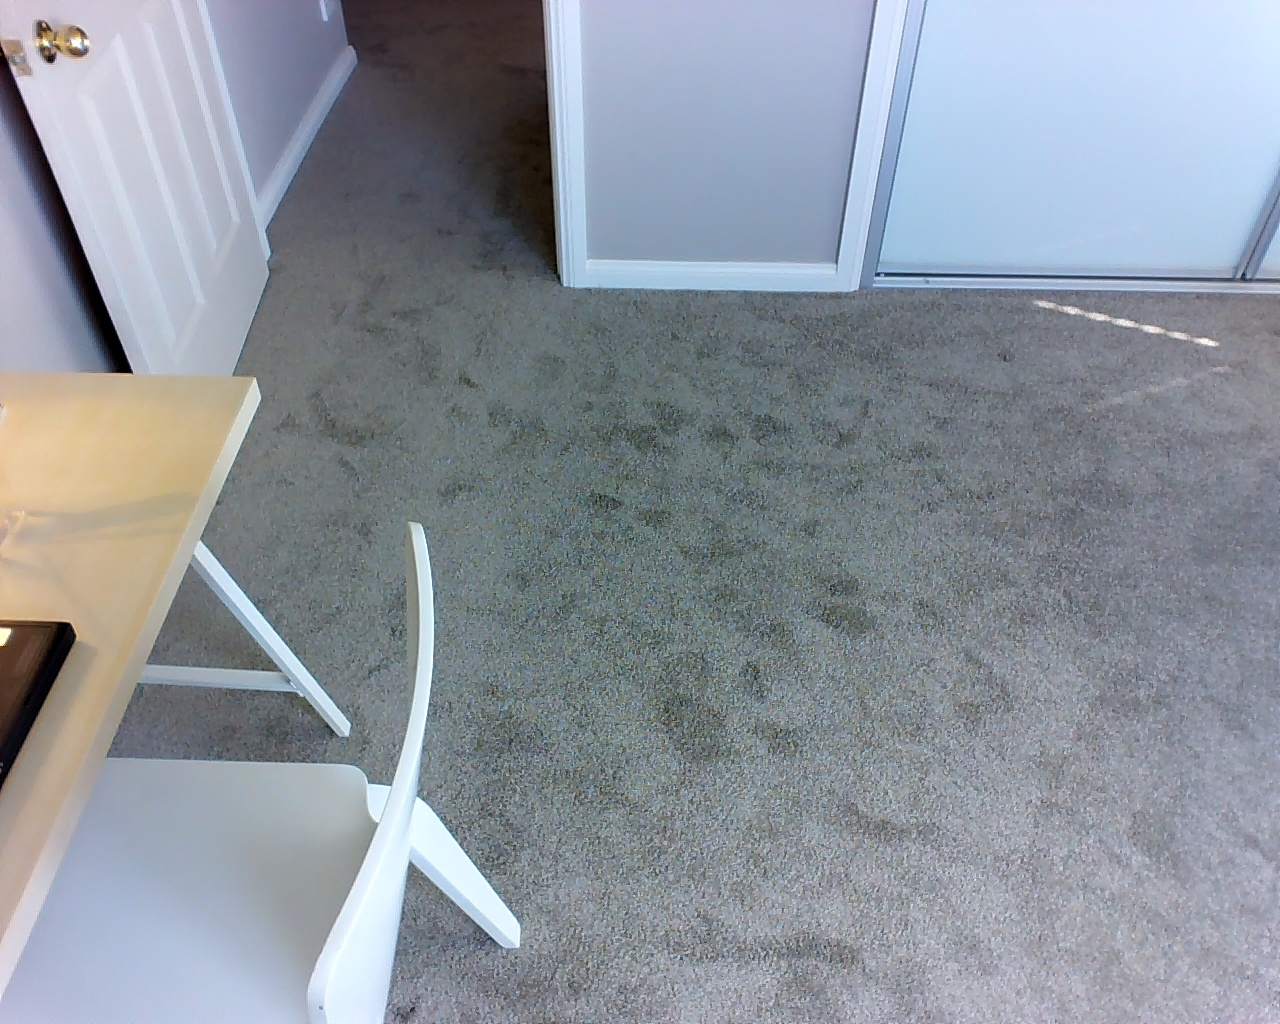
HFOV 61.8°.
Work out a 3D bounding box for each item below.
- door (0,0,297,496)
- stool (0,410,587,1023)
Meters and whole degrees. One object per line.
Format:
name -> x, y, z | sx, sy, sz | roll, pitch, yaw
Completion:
door -> -1.020, -1.090, 1.850 | 0.180, 2.060, 0.910 | 0, 44, 0
stool -> -0.480, 0.450, 1.110 | 0.770, 0.910, 0.620 | 2, 44, 2
